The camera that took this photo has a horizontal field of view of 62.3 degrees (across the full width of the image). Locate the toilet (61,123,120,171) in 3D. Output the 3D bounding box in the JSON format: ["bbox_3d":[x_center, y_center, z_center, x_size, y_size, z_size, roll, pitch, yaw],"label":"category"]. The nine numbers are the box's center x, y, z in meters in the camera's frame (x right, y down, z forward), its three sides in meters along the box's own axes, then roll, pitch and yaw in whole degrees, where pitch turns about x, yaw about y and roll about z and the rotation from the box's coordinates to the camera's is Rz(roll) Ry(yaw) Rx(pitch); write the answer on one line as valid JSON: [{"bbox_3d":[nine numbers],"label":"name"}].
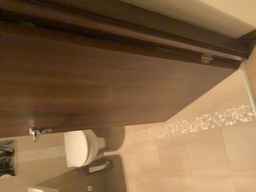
[{"bbox_3d":[-0.390,0.510,2.110,0.520,0.340,0.360,-28,68,49],"label":"toilet"}]
